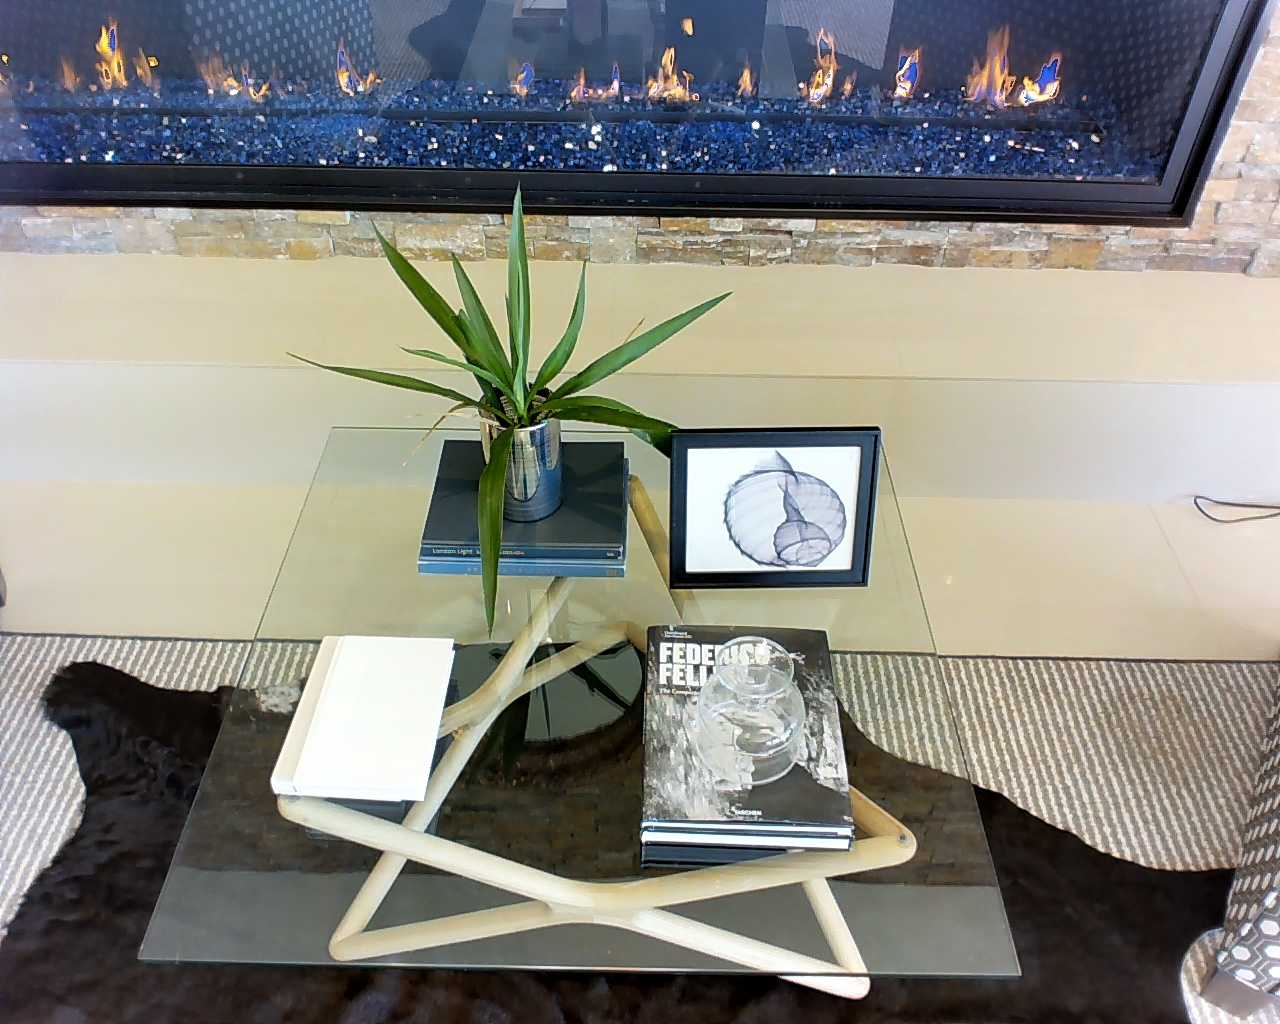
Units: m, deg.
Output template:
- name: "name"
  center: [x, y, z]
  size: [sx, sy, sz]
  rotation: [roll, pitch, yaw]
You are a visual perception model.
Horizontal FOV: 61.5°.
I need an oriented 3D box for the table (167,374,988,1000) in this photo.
- name: "table"
  center: [-0.060, 0.220, 1.700]
  size: [0.950, 0.410, 0.870]
  rotation: [2, 42, 1]
